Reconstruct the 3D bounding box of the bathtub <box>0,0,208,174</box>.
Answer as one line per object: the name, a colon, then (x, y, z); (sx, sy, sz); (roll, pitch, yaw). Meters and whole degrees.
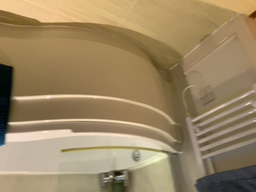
bathtub: (-0.540, 0.030, 1.170); (1.660, 0.590, 0.940); (13, 145, -33)
